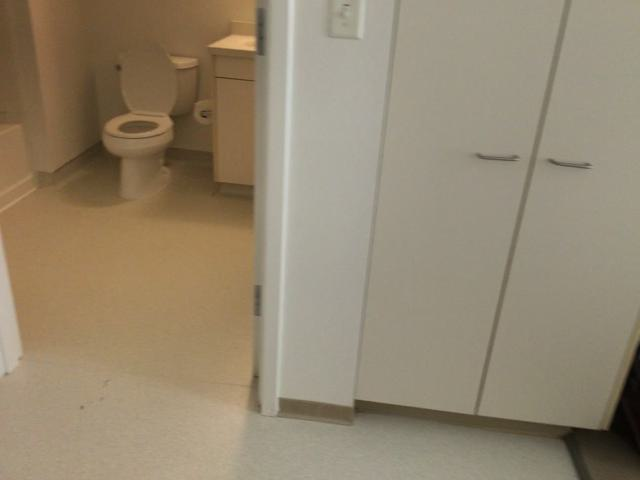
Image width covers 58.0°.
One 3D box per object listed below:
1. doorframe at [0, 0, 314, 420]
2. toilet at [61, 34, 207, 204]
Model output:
[{"bbox_3d":[-0.520,-0.490,1.460,0.980,2.160,0.150,6,25,2],"label":"doorframe"},{"bbox_3d":[-1.020,-0.730,3.360,0.500,0.810,0.720,3,25,4],"label":"toilet"}]
